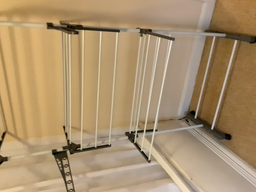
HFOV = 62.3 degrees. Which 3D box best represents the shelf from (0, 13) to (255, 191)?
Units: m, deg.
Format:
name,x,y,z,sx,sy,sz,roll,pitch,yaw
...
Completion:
name,x,y,z,sx,sy,sz,roll,pitch,yaw
shelf,0.000,-0.040,1.450,0.490,1.660,0.830,-136,47,-55
